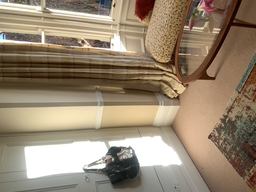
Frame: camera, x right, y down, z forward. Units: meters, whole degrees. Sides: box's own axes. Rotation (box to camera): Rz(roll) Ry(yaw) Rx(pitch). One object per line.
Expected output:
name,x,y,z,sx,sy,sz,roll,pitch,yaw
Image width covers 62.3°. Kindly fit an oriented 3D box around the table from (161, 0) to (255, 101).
table,0.800,-0.690,1.870,0.700,0.390,1.320,-114,31,-48
